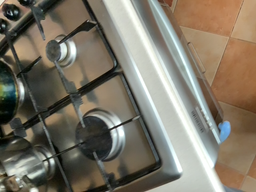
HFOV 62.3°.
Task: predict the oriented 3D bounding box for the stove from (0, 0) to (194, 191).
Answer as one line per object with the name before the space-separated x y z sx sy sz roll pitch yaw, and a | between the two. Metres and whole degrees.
stove | -0.230 0.020 0.540 0.560 0.030 0.600 -27 85 25
